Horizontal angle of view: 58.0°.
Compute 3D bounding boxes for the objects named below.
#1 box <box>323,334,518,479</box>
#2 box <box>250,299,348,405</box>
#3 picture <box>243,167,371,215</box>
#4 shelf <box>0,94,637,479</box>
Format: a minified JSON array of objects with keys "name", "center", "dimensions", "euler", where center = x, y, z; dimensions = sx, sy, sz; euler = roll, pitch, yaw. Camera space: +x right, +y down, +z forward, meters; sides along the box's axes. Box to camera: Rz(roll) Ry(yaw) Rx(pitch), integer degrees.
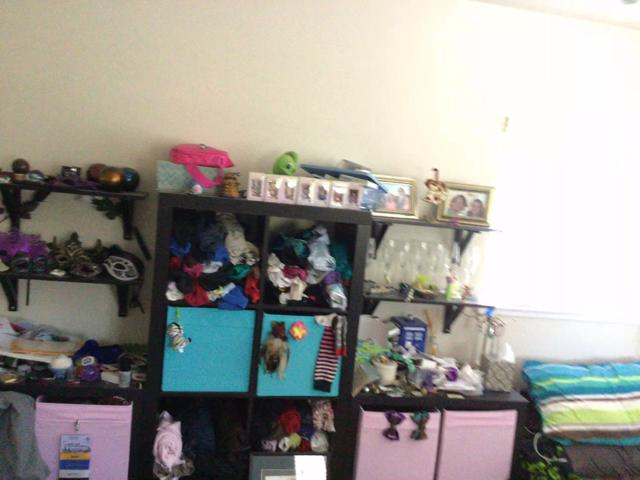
[{"name":"box","center":[0.400,0.740,2.480],"dimensions":[0.650,0.530,0.460],"euler":[6,3,-9]},{"name":"box","center":[-0.100,0.440,2.350],"dimensions":[0.320,0.310,0.400],"euler":[6,3,-9]},{"name":"picture","center":[-0.050,-0.180,2.150],"dimensions":[0.460,0.120,0.080],"euler":[6,3,-9]},{"name":"shelf","center":[-0.320,0.450,2.270],"dimensions":[2.750,1.680,0.640],"euler":[6,3,-9]}]
